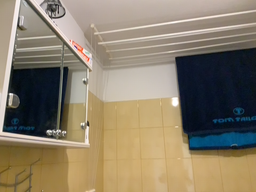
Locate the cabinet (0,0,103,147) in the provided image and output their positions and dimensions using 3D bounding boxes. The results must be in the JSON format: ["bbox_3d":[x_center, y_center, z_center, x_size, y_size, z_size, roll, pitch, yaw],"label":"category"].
[{"bbox_3d":[-0.300,-0.020,0.910,0.170,0.440,0.790,-4,-16,9],"label":"cabinet"}]
